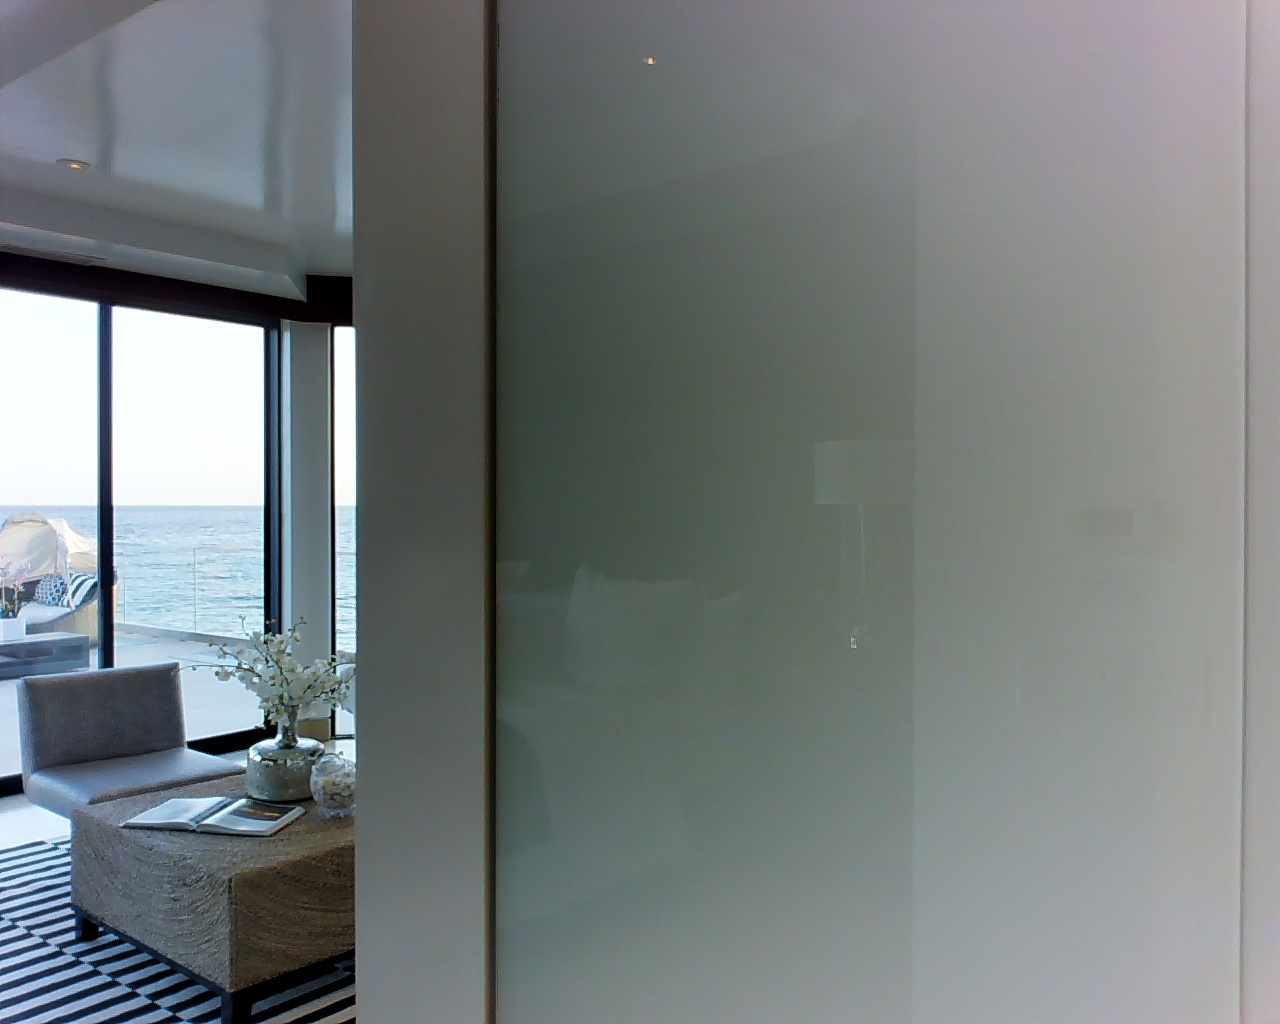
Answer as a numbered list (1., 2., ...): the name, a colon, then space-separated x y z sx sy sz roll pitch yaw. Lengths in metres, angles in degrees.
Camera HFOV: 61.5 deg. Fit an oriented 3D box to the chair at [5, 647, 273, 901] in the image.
1. chair: -2.149 1.060 4.620 0.820 0.810 0.770 1 1 40
